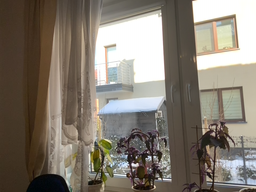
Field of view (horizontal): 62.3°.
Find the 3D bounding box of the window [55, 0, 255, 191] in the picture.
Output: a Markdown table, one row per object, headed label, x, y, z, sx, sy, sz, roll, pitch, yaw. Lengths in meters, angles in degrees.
| label | x | y | z | sx | sy | sz | roll | pitch | yaw |
| --- | --- | --- | --- | --- | --- | --- | --- | --- | --- |
| window | 0.310 | -0.130 | 1.420 | 1.920 | 1.330 | 0.240 | -5 | -6 | 28 |
